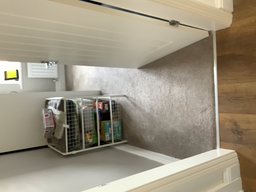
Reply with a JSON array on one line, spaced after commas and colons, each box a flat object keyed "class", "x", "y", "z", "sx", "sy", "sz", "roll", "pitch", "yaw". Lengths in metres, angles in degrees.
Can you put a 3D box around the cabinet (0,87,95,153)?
[{"class": "cabinet", "x": -1.540, "y": 0.250, "z": 2.600, "sx": 1.220, "sy": 1.870, "sz": 0.630, "roll": -2, "pitch": 91, "yaw": 52}]
